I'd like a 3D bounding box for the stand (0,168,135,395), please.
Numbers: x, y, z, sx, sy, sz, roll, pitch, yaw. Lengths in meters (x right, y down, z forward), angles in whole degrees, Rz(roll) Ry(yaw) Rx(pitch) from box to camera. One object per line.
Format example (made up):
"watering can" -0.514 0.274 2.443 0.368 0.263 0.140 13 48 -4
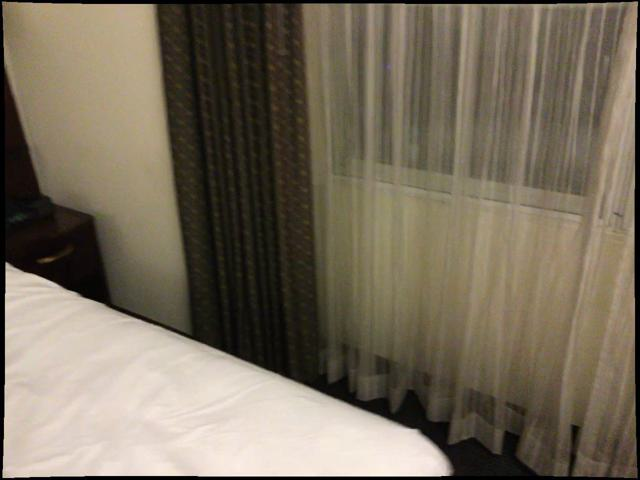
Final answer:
"stand" -1.109 0.140 2.270 0.460 0.671 0.430 15 32 29

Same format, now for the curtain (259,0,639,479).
"curtain" 0.589 -0.350 1.400 1.659 2.302 0.210 15 32 29
